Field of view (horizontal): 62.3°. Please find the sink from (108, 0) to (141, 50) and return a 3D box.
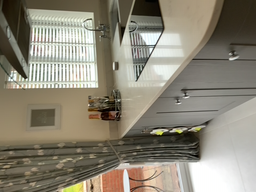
[{"bbox_3d":[-0.070,-0.980,2.570,0.600,0.240,0.600,120,146,-66],"label":"sink"}]
